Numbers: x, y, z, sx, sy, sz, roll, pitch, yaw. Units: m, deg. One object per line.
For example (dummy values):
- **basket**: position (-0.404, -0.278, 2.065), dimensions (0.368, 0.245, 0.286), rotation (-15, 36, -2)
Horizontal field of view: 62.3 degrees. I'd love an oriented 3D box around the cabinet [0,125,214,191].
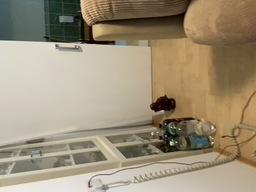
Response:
- **cabinet**: position (-0.330, 0.580, 1.680), dimensions (0.850, 1.770, 0.380), rotation (-171, 78, -69)
